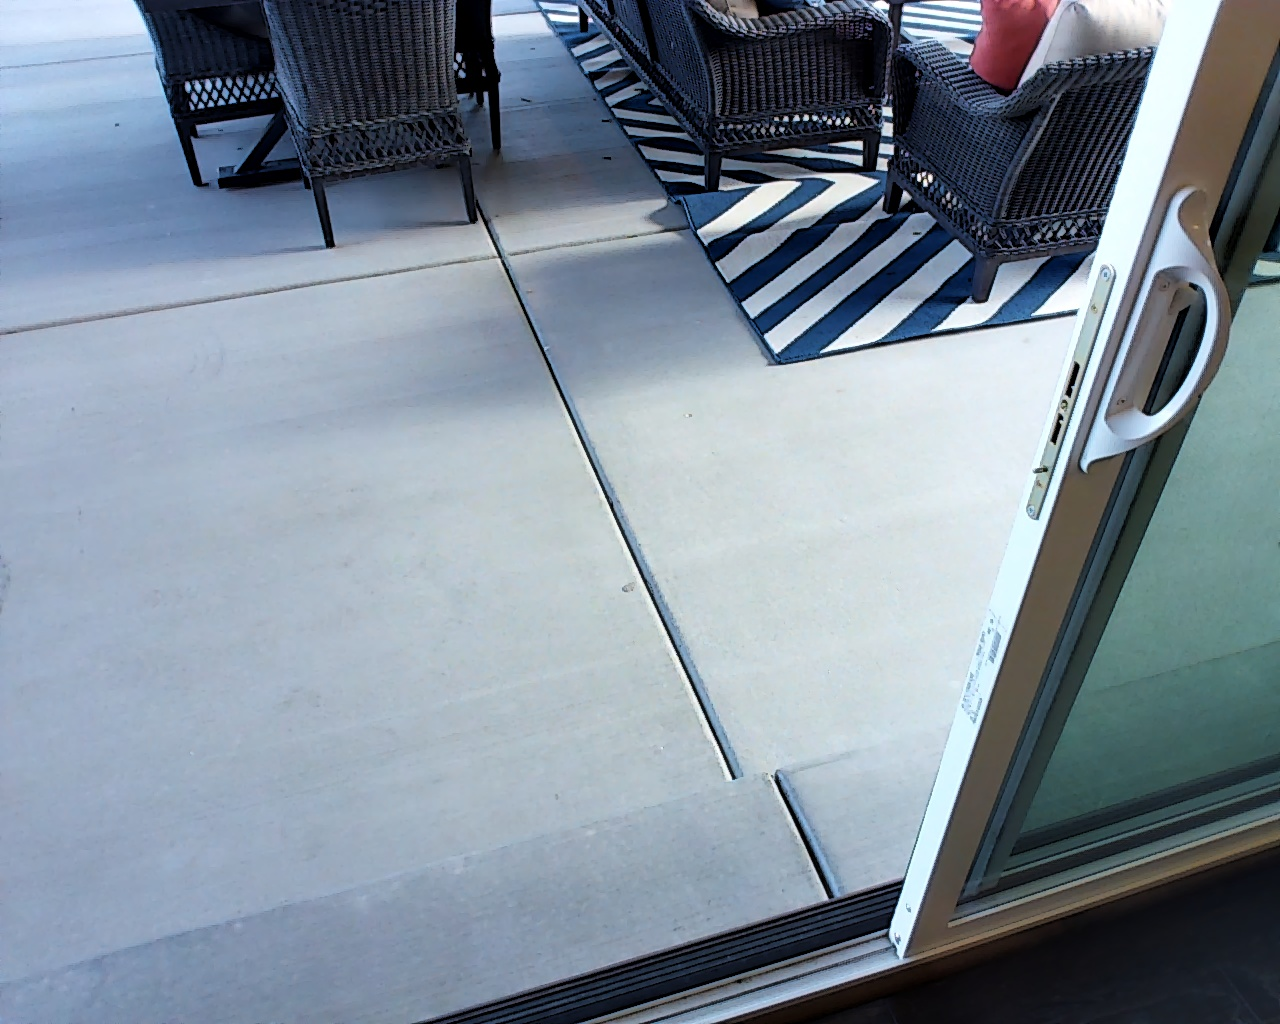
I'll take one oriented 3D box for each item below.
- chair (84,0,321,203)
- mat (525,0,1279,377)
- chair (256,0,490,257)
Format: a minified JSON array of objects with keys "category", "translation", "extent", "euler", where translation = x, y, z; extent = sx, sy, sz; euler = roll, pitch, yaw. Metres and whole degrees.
[{"category":"chair","translation":[-1.520,-1.690,3.690],"extent":[0.580,0.930,0.700],"euler":[-12,43,-13]},{"category":"mat","translation":[1.170,-1.600,4.220],"extent":[2.630,0.080,3.020],"euler":[-12,43,-13]},{"category":"chair","translation":[-0.860,-1.440,3.330],"extent":[0.560,0.970,0.720],"euler":[-12,43,-13]}]
